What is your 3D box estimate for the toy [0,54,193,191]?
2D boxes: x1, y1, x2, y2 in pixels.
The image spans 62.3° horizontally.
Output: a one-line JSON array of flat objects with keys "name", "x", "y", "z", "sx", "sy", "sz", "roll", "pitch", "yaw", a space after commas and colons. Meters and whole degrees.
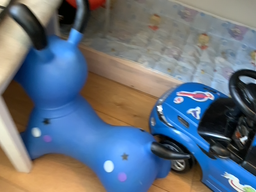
[{"name": "toy", "x": -0.100, "y": 0.160, "z": 0.650, "sx": 0.440, "sy": 0.340, "sz": 0.280, "roll": 22, "pitch": 49, "yaw": 7}]
